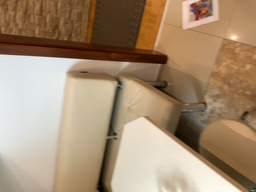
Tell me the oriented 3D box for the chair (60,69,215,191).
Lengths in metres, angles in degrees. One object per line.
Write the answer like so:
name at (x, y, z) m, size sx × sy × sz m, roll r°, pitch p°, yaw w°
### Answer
chair at (0.050, 0.170, 1.520) m, size 0.570 × 0.840 × 0.550 m, roll 37°, pitch 121°, yaw 44°
